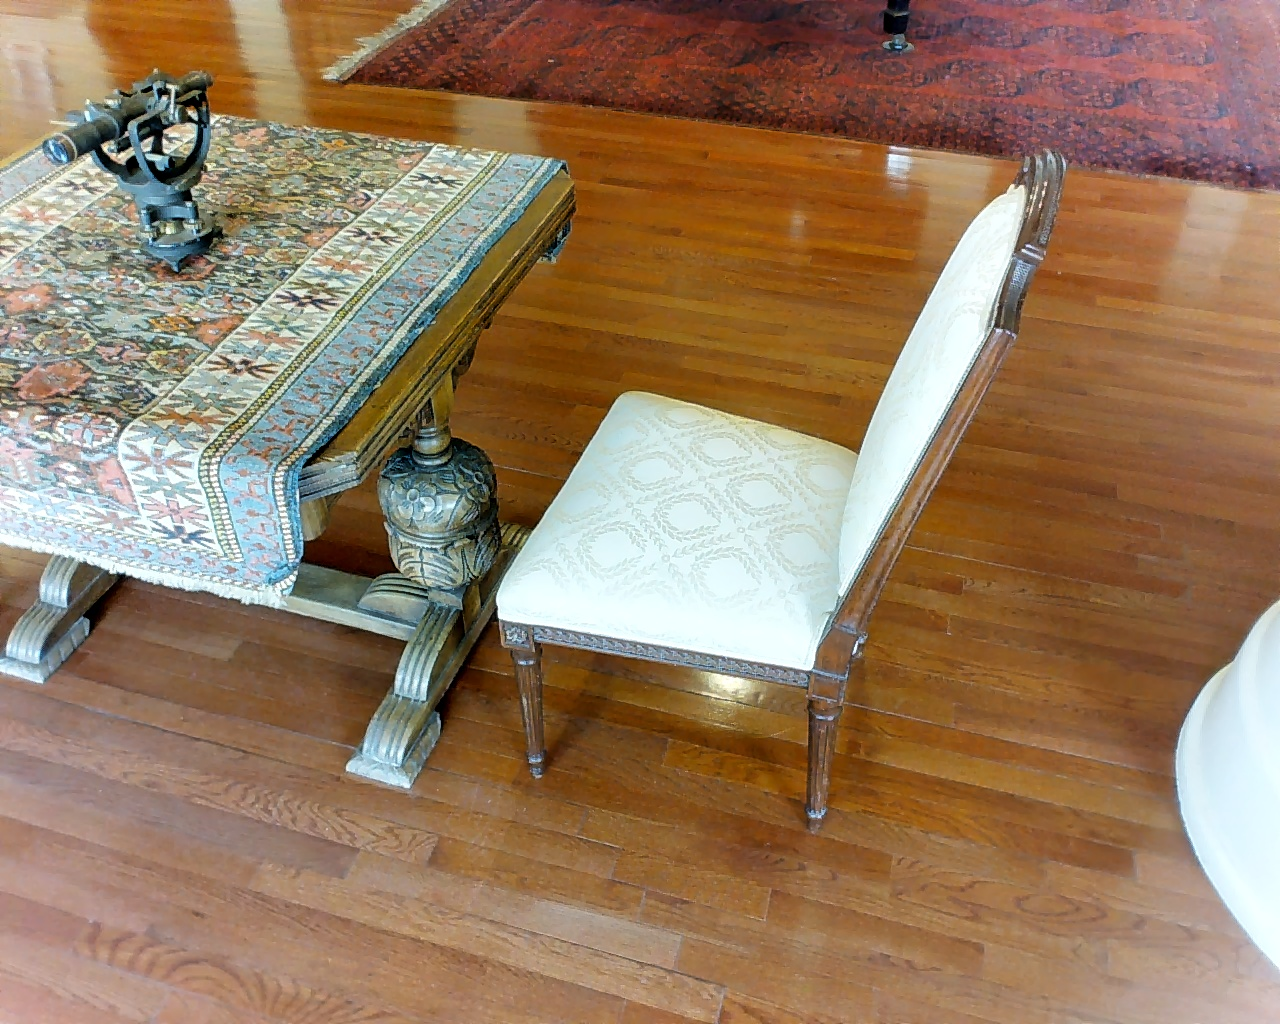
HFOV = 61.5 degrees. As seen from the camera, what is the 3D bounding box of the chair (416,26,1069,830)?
[{"bbox_3d":[0.160,-0.110,1.640,0.690,0.970,0.570,11,43,12],"label":"chair"}]
